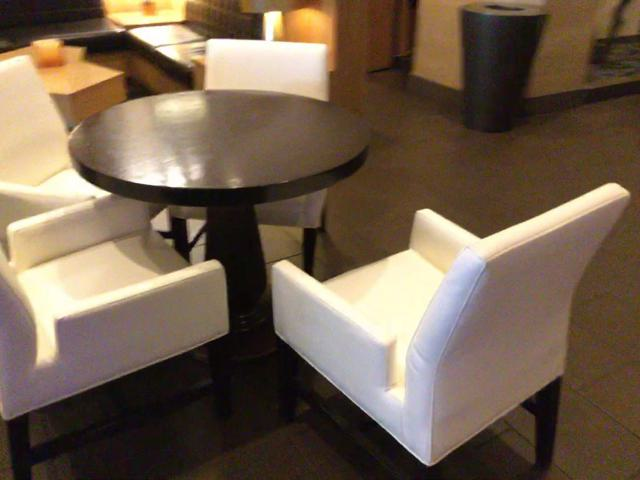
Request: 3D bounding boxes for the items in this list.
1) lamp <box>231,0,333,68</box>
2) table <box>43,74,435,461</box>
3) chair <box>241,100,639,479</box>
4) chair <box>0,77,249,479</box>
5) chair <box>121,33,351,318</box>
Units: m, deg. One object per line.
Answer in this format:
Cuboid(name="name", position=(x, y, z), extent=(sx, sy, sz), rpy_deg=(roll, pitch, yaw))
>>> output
Cuboid(name="lamp", position=(-0.230, -1.380, 3.460), extent=(0.460, 0.550, 0.410), rpy_deg=(-18, 35, -28))
Cuboid(name="table", position=(-0.290, -0.020, 1.980), extent=(0.900, 0.770, 0.900), rpy_deg=(-18, 35, -28))
Cuboid(name="chair", position=(0.270, 0.160, 1.490), extent=(0.630, 0.780, 0.670), rpy_deg=(-22, 37, -32))
Cuboid(name="chair", position=(-0.650, 0.120, 1.570), extent=(0.640, 0.890, 0.630), rpy_deg=(-18, 35, -28))
Cuboid(name="chair", position=(-0.250, -0.300, 2.350), extent=(0.650, 0.870, 0.790), rpy_deg=(4, 31, 8))
